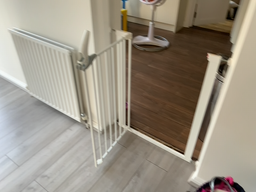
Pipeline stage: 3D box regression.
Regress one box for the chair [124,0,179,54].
[{"bbox_3d":[0.370,-1.350,3.220,0.640,1.140,0.620,17,40,20],"label":"chair"}]
